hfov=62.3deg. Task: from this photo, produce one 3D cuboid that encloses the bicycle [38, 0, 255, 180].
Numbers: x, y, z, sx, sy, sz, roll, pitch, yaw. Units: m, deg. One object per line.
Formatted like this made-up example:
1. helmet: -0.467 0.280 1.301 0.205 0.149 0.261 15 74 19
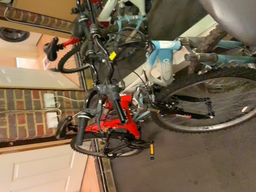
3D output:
1. bicycle: 0.060 0.170 1.450 1.750 0.740 0.420 -32 66 44
